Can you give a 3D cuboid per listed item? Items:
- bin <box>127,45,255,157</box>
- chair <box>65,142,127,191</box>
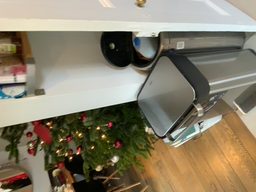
[{"bbox_3d":[0.420,0.000,1.190,0.350,0.670,0.410,62,144,27],"label":"bin"},{"bbox_3d":[-0.460,1.030,2.980,0.380,0.730,0.460,48,136,42],"label":"chair"}]
